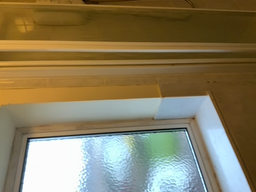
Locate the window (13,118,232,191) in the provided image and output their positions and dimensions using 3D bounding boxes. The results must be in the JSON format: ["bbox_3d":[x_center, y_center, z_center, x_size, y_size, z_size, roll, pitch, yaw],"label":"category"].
[{"bbox_3d":[0.010,0.500,0.820,0.050,0.900,0.900,98,167,-50],"label":"window"}]
